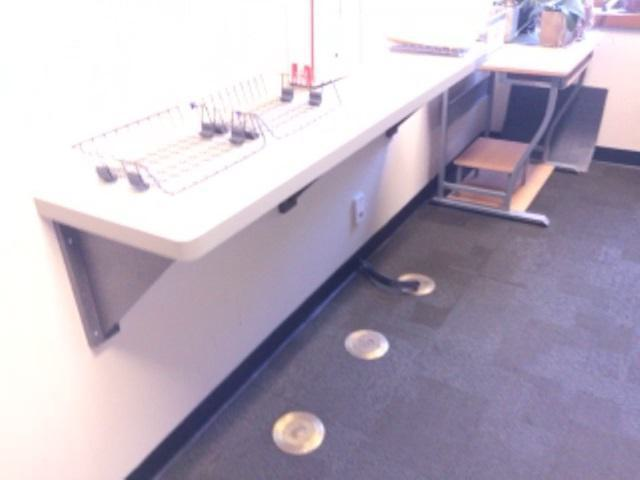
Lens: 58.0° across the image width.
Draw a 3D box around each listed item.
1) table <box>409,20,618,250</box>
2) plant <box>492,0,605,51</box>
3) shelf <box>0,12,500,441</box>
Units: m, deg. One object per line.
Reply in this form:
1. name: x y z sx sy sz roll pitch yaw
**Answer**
1. table: 0.940 -0.570 2.830 0.660 0.790 0.890 15 35 31
2. plant: 1.060 -1.130 2.630 0.380 0.420 0.420 15 35 31
3. shelf: 0.010 -0.230 1.660 0.450 0.550 1.530 15 35 31
